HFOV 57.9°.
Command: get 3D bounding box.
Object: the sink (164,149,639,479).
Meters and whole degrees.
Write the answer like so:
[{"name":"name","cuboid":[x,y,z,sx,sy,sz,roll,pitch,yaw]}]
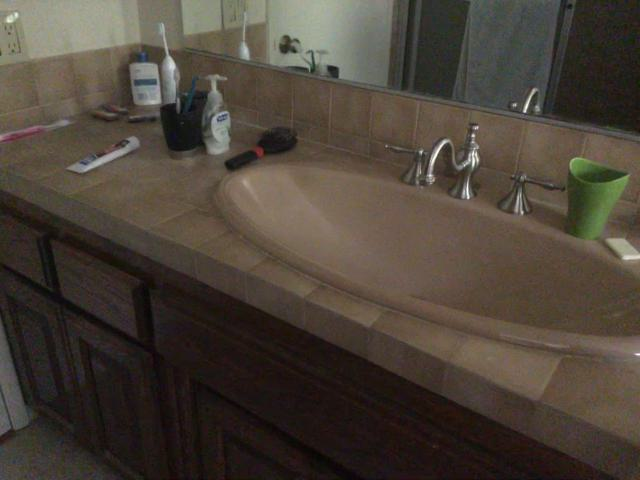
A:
[{"name":"sink","cuboid":[0.180,0.060,0.970,0.890,0.180,0.340,19,30,30]}]
